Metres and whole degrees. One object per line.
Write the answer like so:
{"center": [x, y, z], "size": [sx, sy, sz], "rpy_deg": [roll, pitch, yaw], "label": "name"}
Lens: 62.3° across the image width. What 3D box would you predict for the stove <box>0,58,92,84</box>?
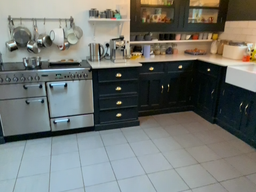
{"center": [-1.050, -0.340, 2.710], "size": [1.090, 0.150, 0.630], "rpy_deg": [-5, 20, -16], "label": "stove"}
